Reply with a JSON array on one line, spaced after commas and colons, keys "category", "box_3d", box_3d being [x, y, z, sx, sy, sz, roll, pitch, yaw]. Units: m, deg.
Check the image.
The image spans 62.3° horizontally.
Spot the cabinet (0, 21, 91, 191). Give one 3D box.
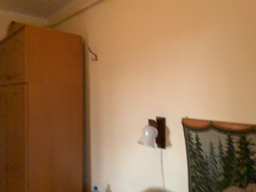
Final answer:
[{"category": "cabinet", "box_3d": [-0.920, 0.450, 2.190, 0.630, 2.050, 0.960, -2, 1, -42]}]
